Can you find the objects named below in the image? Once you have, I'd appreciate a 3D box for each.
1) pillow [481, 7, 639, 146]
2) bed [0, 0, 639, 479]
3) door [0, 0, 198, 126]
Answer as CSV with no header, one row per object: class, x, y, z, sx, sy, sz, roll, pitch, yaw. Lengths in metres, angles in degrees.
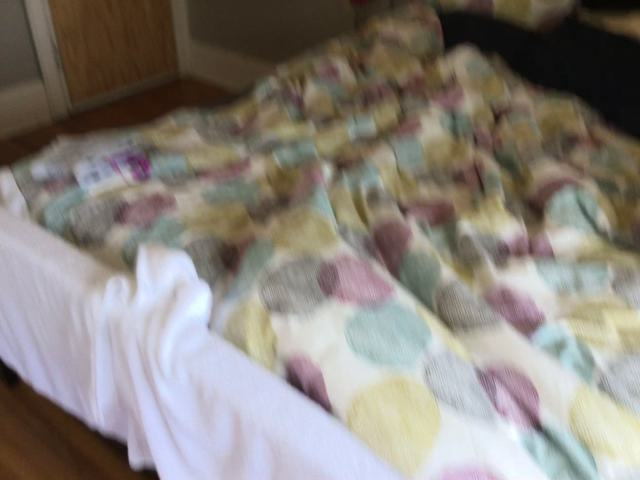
pillow,0.950,-0.510,1.780,0.670,0.200,0.570,26,40,30
bed,0.280,-0.300,1.640,1.830,1.250,2.250,26,40,30
door,-1.150,-1.760,2.860,0.140,2.180,1.080,26,41,30
